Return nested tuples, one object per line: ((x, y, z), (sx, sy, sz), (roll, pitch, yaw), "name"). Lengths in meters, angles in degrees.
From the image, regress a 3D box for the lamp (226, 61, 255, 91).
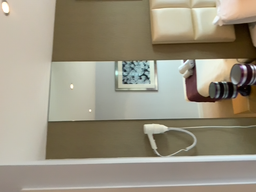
((0.930, -0.140, 1.560), (0.210, 0.300, 0.160), (94, 175, -77), "lamp")
